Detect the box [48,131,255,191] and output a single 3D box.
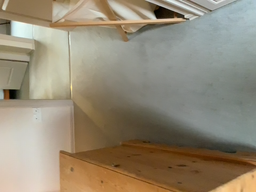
[{"bbox_3d":[0.110,0.560,1.010,0.970,0.640,0.650,-5,86,51],"label":"box"}]
